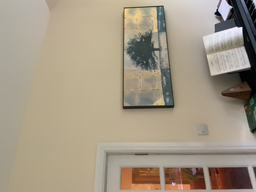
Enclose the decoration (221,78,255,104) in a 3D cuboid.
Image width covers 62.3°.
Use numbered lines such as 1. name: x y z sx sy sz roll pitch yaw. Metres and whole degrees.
1. decoration: 0.930 -0.040 1.790 0.160 0.200 0.160 84 -174 -66
